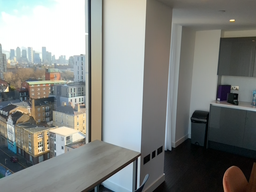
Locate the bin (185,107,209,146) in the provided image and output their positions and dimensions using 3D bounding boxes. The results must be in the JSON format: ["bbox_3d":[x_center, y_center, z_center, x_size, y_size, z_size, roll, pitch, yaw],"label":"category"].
[{"bbox_3d":[1.420,0.610,4.350,0.330,0.690,0.350,8,11,36],"label":"bin"}]
